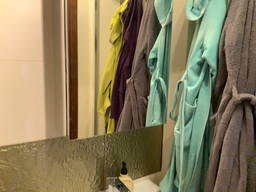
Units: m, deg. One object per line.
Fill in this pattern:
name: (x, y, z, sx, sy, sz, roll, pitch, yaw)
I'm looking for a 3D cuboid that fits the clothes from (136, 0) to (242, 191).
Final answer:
clothes: (0.240, -0.070, 0.940, 0.190, 1.190, 0.360, -3, 10, -32)
